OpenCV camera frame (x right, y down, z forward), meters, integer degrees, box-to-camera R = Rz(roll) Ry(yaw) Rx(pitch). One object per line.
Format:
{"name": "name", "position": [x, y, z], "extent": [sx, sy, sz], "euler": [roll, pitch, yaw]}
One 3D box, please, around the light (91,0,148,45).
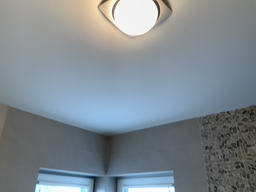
{"name": "light", "position": [-0.030, -0.340, 0.820], "extent": [0.120, 0.180, 0.240], "euler": [-66, -32, -67]}
